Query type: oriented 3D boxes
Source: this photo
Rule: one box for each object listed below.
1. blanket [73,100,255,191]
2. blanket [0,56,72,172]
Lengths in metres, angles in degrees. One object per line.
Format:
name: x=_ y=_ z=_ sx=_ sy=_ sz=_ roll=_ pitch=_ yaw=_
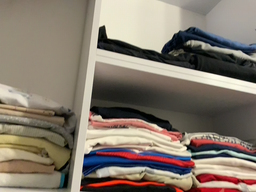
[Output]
blanket: x=0.130 y=0.210 z=0.690 sx=0.550 sy=0.250 sz=0.290 roll=9 pitch=-19 yaw=-16
blanket: x=-0.410 y=0.060 z=0.610 sx=0.440 sy=0.270 sz=0.280 roll=8 pitch=-19 yaw=-15
